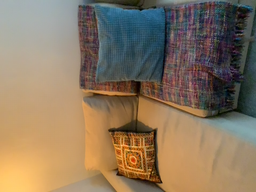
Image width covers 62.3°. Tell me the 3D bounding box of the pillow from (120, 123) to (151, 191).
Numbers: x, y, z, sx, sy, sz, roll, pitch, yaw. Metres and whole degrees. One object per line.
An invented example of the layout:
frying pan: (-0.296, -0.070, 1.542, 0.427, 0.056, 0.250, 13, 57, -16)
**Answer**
pillow: (0.050, 0.470, 1.630, 0.090, 0.370, 0.420, -13, 102, -7)

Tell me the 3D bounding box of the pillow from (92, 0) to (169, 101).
pillow: (0.030, -0.320, 1.400, 0.270, 0.490, 0.570, 11, 107, 26)
